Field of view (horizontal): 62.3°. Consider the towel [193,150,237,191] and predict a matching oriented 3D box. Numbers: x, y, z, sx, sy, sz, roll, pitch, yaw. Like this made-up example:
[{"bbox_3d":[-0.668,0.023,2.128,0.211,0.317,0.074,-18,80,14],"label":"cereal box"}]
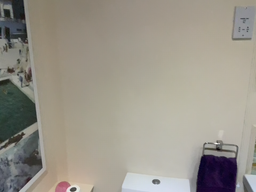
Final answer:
[{"bbox_3d":[0.470,0.460,1.170,0.190,0.300,0.070,3,15,11],"label":"towel"}]
